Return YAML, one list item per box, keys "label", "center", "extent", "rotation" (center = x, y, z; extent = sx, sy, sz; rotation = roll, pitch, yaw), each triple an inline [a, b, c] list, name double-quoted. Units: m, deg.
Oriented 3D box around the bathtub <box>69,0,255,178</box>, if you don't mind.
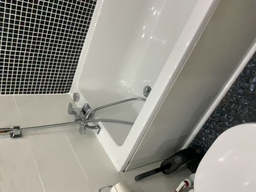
- label: "bathtub"
  center: [0.260, -0.480, 1.120]
  extent: [0.760, 0.510, 1.680]
  rotation: [48, 126, 38]
